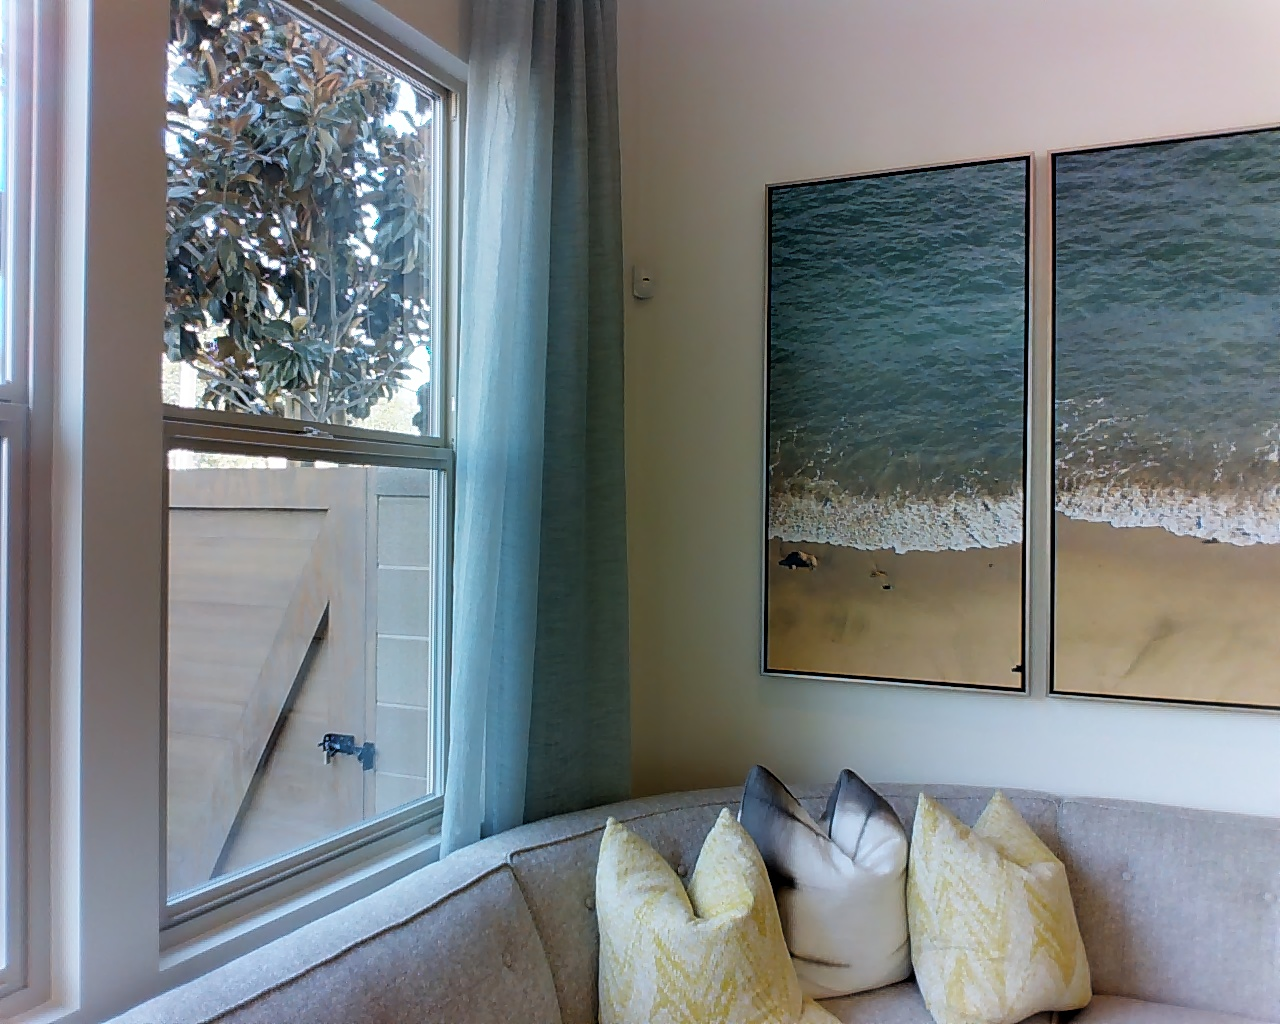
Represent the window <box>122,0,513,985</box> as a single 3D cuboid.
[{"bbox_3d":[-0.530,-0.110,1.980,0.140,1.611,0.840,1,-1,25],"label":"window"}]
